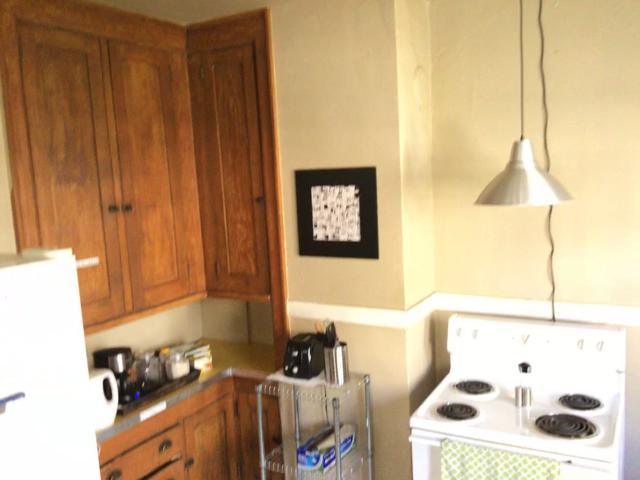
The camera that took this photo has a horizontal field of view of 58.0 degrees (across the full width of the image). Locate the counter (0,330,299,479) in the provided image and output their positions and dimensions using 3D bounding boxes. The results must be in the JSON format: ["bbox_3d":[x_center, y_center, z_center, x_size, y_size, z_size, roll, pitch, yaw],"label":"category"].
[{"bbox_3d":[-0.770,0.760,2.990,0.660,0.170,1.470,0,7,29],"label":"counter"}]

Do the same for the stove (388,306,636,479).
[{"bbox_3d":[0.860,0.970,2.450,0.840,1.190,0.790,0,7,29],"label":"stove"}]
